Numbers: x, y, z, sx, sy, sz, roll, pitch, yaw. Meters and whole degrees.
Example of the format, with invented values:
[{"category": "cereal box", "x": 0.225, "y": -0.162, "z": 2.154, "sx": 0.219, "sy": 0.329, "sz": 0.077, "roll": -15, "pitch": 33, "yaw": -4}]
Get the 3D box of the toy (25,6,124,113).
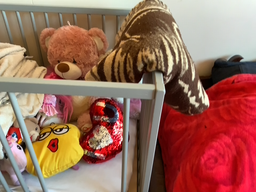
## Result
[{"category": "toy", "x": -0.210, "y": -0.170, "z": 1.020, "sx": 0.360, "sy": 0.420, "sz": 0.260, "roll": 3, "pitch": 37, "yaw": 0}]
